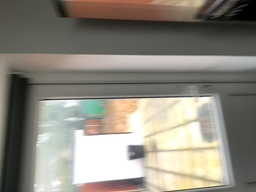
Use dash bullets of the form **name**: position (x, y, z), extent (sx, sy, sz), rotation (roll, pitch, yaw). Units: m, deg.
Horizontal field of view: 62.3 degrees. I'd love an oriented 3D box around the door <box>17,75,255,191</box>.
- **door**: position (0.430, 0.290, 1.270), extent (0.140, 1.960, 0.840), rotation (119, 148, -69)
